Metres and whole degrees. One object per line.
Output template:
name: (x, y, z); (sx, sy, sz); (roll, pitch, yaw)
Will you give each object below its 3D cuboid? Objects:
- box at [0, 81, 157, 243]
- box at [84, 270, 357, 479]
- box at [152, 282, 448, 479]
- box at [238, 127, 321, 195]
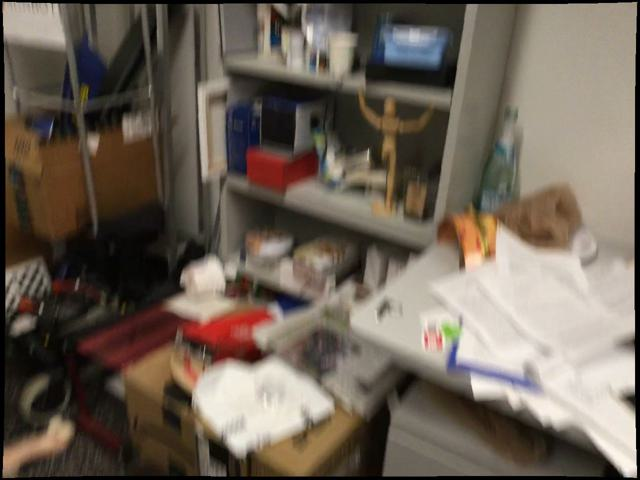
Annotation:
box: (-0.799, -0.270, 1.840); (0.310, 0.360, 0.400); (21, 32, 29)
box: (-0.250, 0.430, 1.650); (0.420, 0.350, 0.630); (21, 32, 29)
box: (-0.030, 0.501, 1.420); (0.410, 0.490, 0.580); (20, 32, 29)
box: (-0.120, -0.240, 1.710); (0.170, 0.120, 0.180); (21, 32, 29)
